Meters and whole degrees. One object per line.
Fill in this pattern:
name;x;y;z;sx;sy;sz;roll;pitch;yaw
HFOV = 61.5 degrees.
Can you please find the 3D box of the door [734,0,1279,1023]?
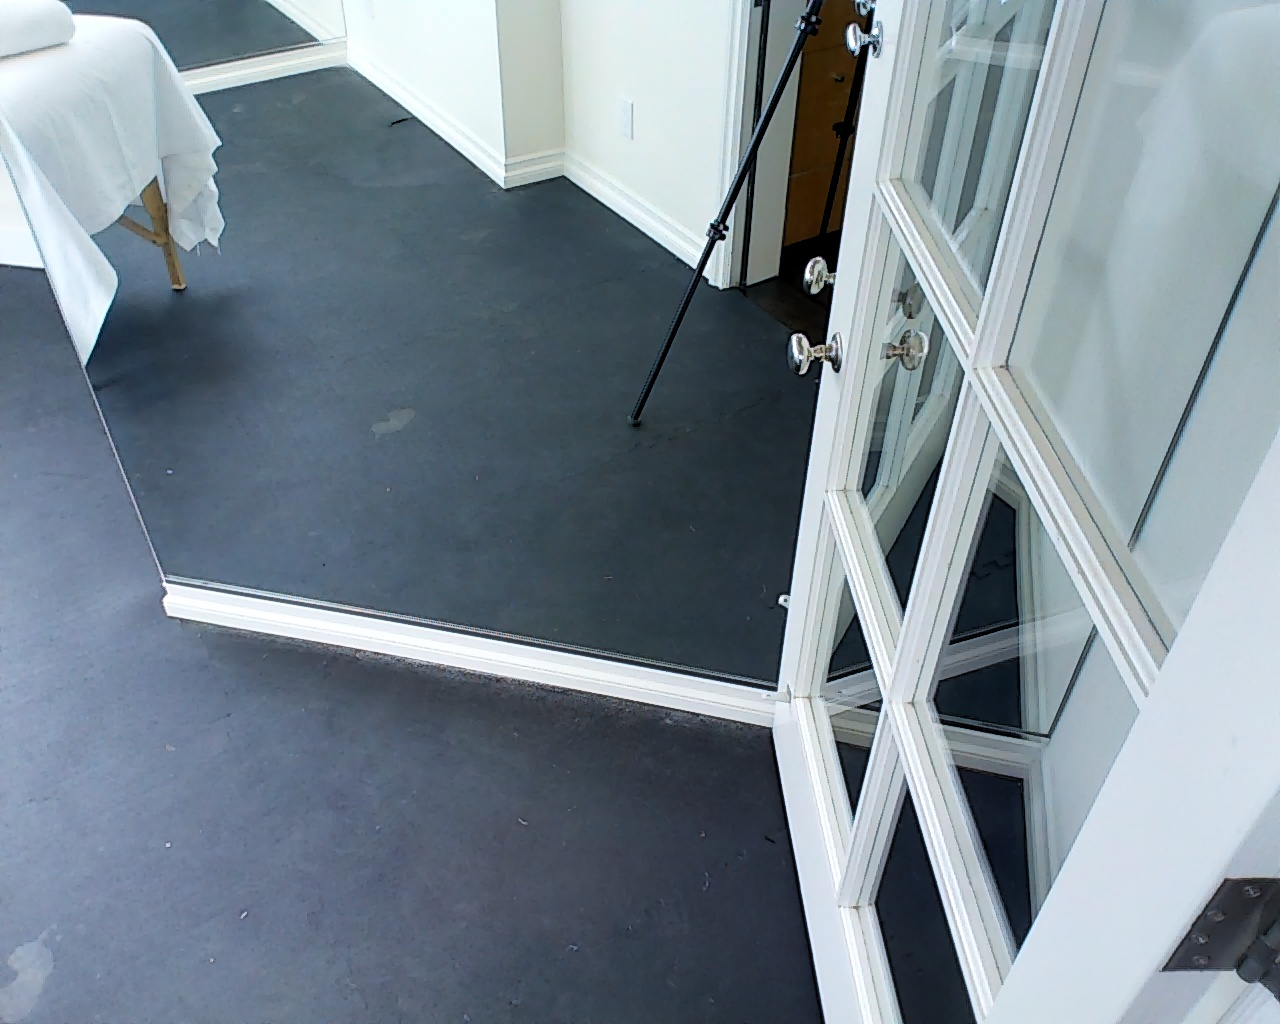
door;0.310;-0.110;0.910;0.200;2.110;0.930;-2;42;-3
